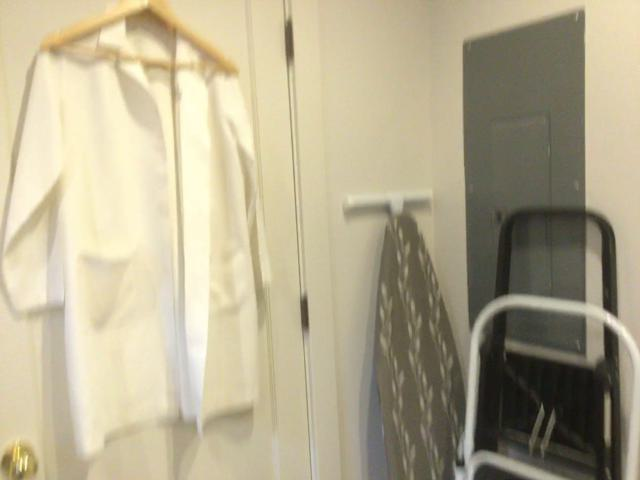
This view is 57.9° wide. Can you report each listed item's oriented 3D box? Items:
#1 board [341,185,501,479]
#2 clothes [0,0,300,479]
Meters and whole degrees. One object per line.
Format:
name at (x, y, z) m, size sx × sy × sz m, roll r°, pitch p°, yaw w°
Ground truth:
board at (0.320, 0.530, 1.730) m, size 0.380 × 1.360 × 0.240 m, roll -8°, pitch 8°, yaw -36°
clothes at (-0.370, -0.050, 1.260) m, size 0.630 × 1.000 × 0.140 m, roll -8°, pitch 8°, yaw -36°
